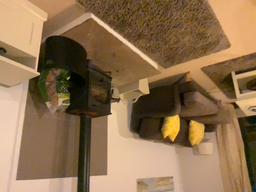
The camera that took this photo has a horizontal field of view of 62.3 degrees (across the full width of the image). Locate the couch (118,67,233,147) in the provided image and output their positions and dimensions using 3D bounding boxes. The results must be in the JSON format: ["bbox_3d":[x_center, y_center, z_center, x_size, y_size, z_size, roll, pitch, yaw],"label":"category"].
[{"bbox_3d":[0.970,0.400,3.880,1.260,0.810,2.180,-14,158,32],"label":"couch"}]
